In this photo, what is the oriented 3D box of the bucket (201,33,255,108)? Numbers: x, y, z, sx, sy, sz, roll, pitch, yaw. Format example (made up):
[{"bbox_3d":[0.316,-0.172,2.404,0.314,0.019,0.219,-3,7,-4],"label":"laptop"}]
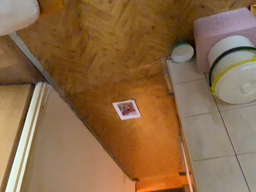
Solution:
[{"bbox_3d":[0.590,-0.130,1.110,0.340,0.220,0.280,-10,141,8],"label":"bucket"}]
